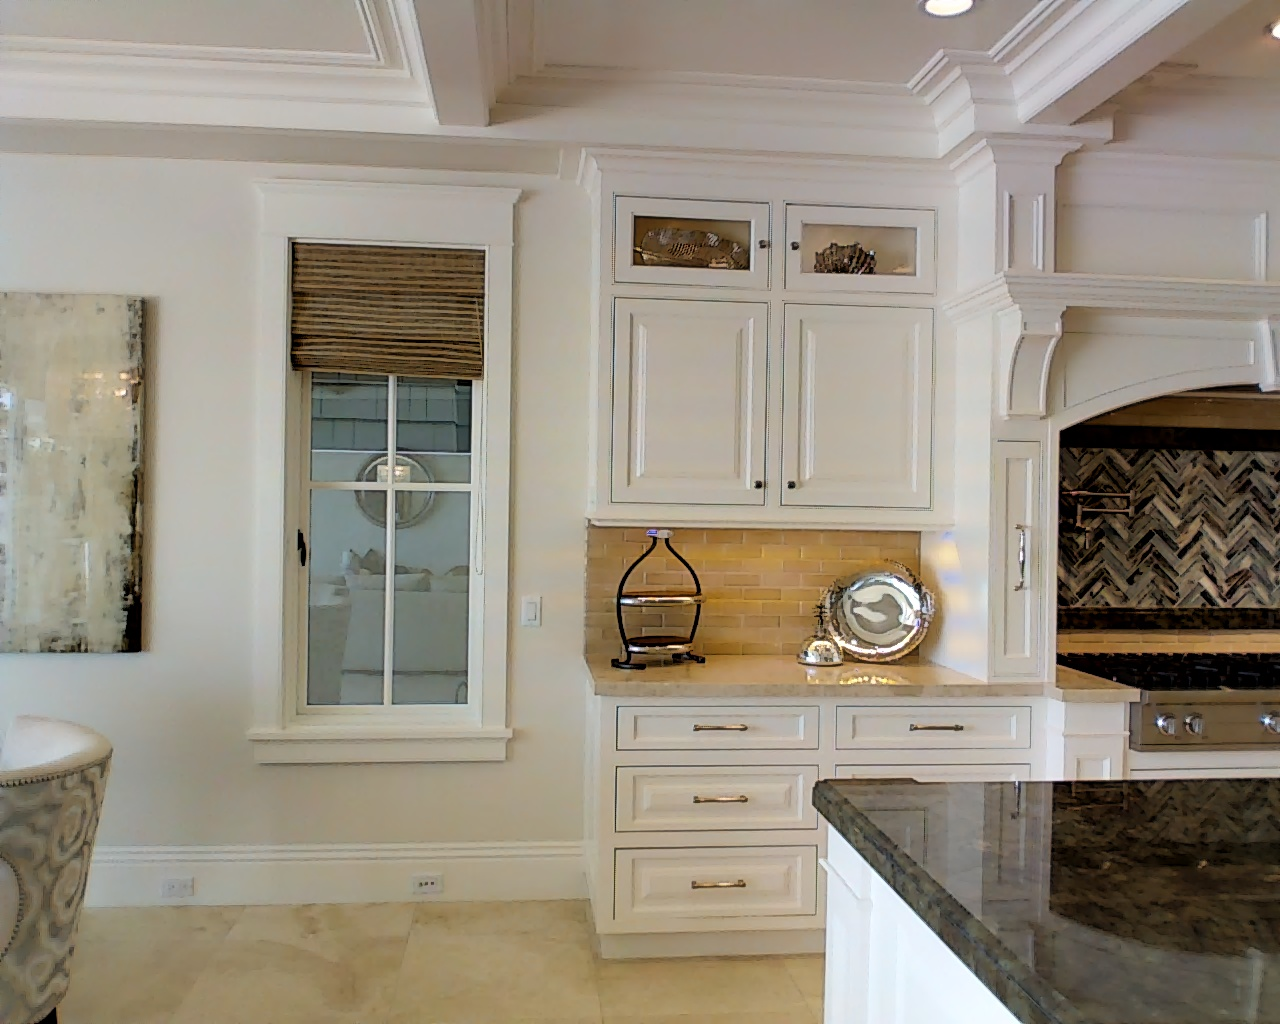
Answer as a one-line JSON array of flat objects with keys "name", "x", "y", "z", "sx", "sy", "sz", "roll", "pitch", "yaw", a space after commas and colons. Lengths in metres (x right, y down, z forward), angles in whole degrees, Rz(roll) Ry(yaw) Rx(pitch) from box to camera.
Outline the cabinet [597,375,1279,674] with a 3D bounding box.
[{"name": "cabinet", "x": 2.639, "y": 0.090, "z": 4.100, "sx": 5.568, "sy": 1.000, "sz": 0.410, "roll": 1, "pitch": 0, "yaw": -6}]
